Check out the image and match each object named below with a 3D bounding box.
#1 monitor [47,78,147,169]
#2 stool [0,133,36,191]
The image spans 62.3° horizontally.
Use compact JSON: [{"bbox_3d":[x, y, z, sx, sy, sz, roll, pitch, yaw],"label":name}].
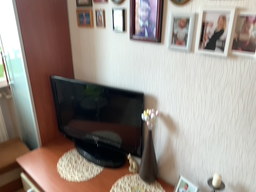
[{"bbox_3d":[-0.260,0.200,1.640,0.820,0.570,0.050,12,26,23],"label":"monitor"},{"bbox_3d":[-1.090,0.630,1.870,0.360,0.380,0.350,-19,31,-37],"label":"stool"}]
